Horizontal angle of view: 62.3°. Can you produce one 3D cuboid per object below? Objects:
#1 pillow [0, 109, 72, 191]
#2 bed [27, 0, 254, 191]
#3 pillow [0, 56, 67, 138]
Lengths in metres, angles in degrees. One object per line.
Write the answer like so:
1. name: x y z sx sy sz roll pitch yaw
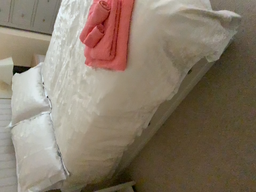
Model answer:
1. pillow: -0.860 0.490 1.940 0.700 0.390 0.150 51 151 26
2. bed: -0.330 -0.210 2.140 2.140 0.700 1.650 -58 47 34
3. pillow: -1.150 -0.020 2.380 0.850 0.480 0.200 42 162 25
